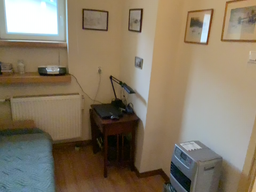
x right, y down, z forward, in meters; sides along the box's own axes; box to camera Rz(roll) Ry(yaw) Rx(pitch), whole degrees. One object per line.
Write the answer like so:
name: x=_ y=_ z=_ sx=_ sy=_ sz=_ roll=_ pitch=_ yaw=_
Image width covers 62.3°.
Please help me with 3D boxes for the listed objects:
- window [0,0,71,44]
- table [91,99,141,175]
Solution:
window: x=-1.160 y=-1.050 z=2.650 sx=0.840 sy=0.730 sz=0.180 roll=-2 pitch=18 yaw=-19
table: x=-0.200 y=0.470 z=2.740 sx=0.430 sy=0.660 sz=0.740 roll=-2 pitch=18 yaw=-20
